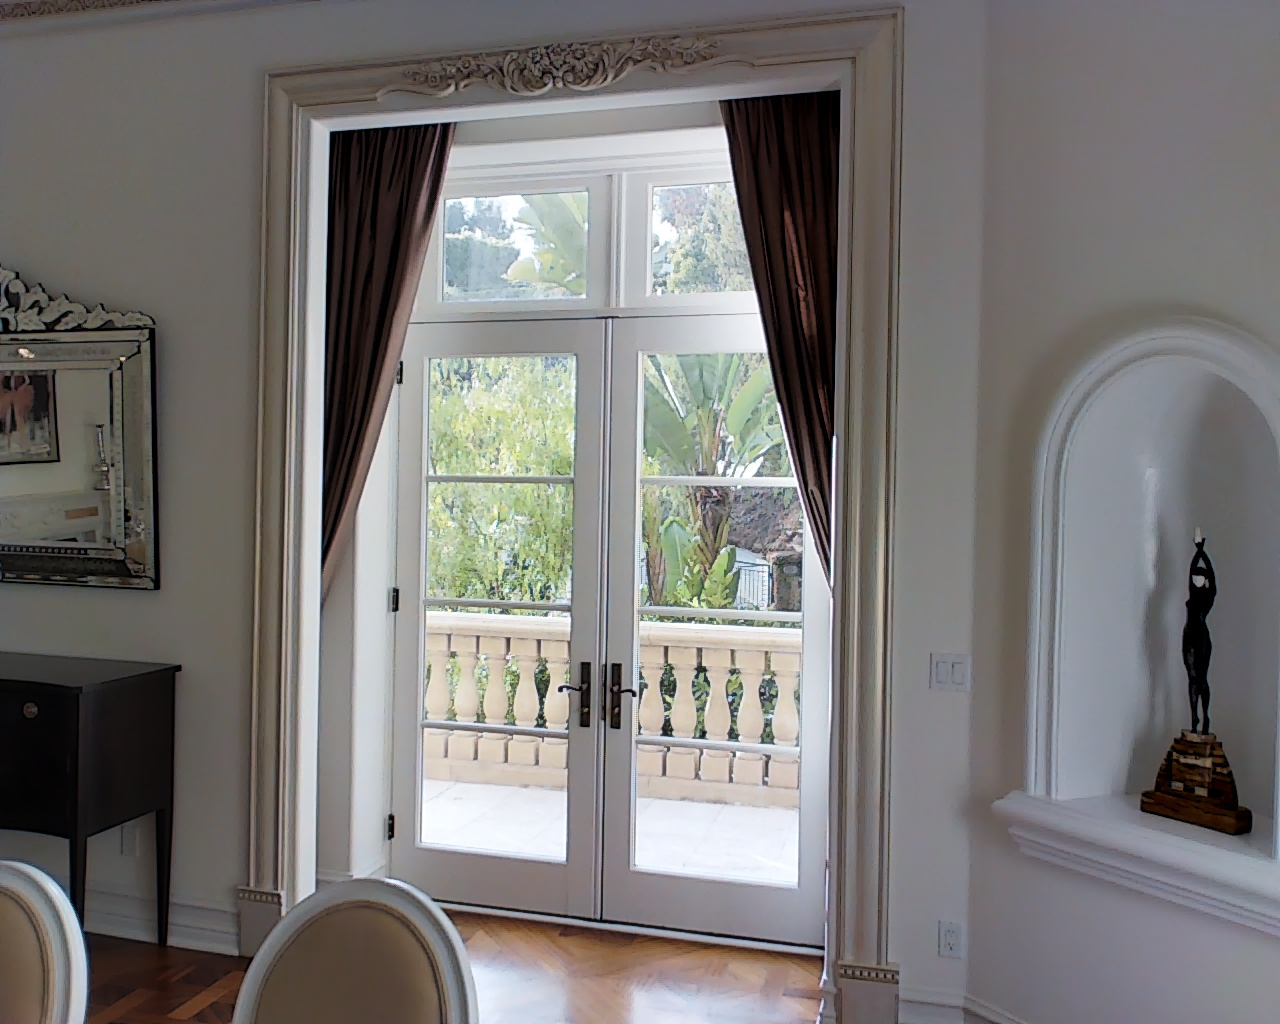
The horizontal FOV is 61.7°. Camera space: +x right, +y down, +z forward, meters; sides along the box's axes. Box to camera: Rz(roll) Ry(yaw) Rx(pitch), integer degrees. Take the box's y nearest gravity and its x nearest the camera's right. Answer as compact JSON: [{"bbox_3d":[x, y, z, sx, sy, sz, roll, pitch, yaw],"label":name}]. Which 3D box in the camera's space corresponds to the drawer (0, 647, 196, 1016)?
[{"bbox_3d":[-2.599,1.070,3.960,1.740,1.060,0.620,1,1,15],"label":"drawer"}]
